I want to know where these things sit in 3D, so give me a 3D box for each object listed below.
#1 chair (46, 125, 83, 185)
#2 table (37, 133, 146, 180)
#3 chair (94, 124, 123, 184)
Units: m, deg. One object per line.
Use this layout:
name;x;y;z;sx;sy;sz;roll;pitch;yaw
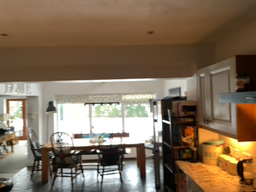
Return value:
chair;-1.380;1.260;4.690;0.550;1.120;0.670;-2;-1;5
table;-0.840;1.440;5.270;2.420;0.770;0.960;-2;0;-4
chair;-0.440;1.240;4.720;0.550;1.130;0.650;-2;-1;-6
